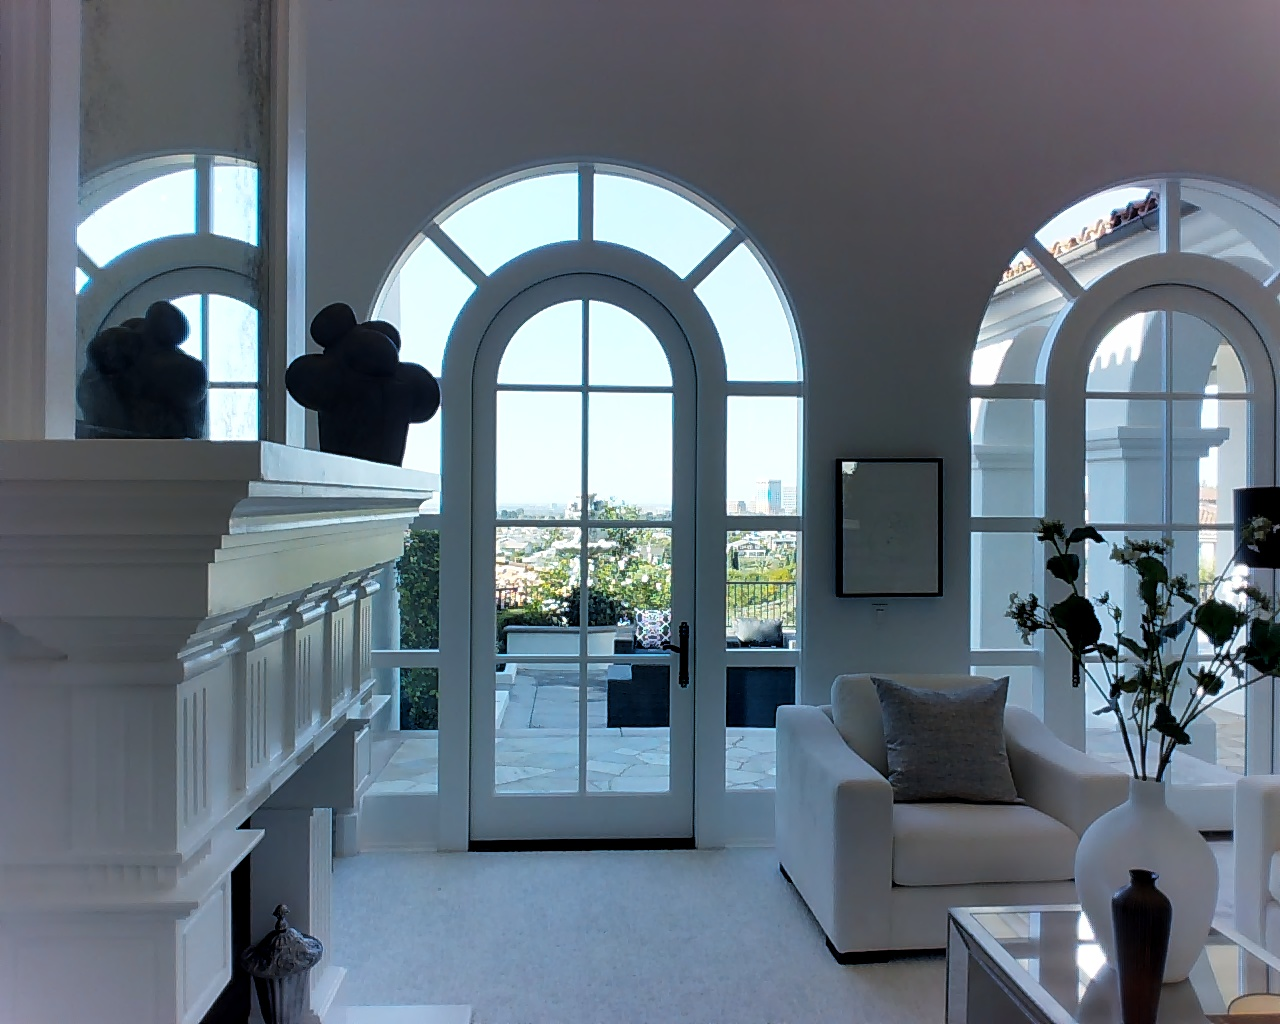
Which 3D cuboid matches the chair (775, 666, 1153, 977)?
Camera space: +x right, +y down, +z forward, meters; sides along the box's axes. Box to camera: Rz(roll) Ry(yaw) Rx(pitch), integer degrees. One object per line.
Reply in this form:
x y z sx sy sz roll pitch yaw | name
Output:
1.200 1.150 4.270 1.120 0.910 1.090 1 0 -3 | chair

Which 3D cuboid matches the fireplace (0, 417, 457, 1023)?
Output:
-1.020 0.730 2.330 0.980 1.691 2.190 1 0 -3 | fireplace

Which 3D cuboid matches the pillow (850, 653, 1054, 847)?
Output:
1.210 0.920 4.200 0.540 0.490 0.270 32 -2 0 | pillow
